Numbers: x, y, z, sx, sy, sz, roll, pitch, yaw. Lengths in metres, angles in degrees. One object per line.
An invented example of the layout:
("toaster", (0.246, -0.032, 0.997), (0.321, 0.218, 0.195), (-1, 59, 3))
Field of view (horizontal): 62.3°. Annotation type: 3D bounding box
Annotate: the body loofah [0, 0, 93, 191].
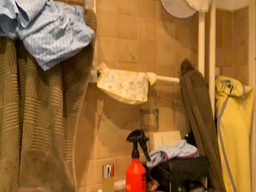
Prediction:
("body loofah", (-0.320, 0.000, 0.640), (0.370, 0.680, 0.230), (-1, 2, -25))
